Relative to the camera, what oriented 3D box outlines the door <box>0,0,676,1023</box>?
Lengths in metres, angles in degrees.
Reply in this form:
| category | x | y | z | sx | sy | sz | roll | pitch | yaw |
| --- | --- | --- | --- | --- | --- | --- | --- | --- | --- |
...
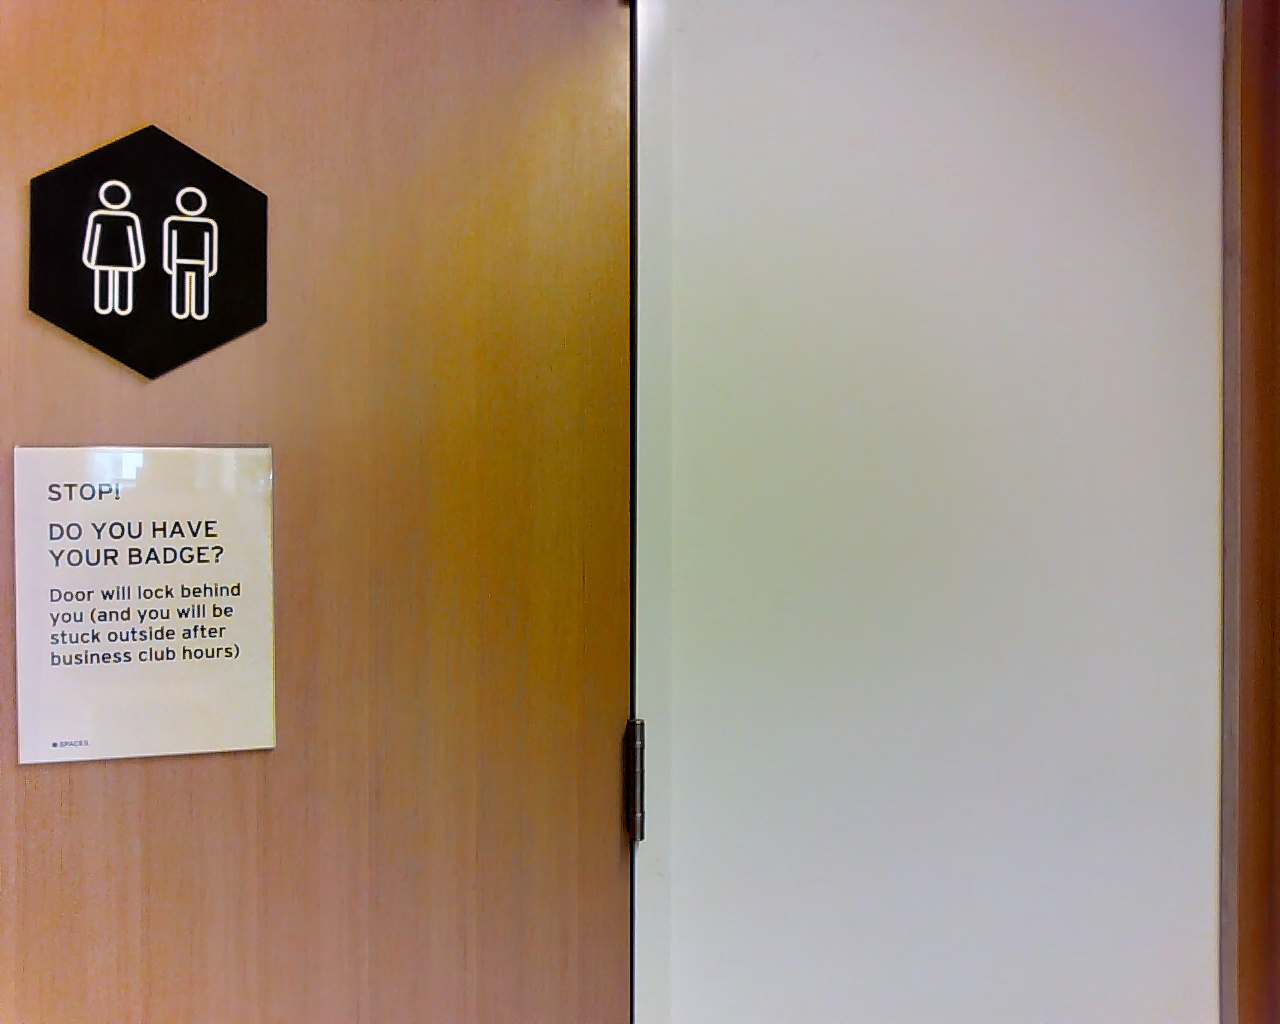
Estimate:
| category | x | y | z | sx | sy | sz | roll | pitch | yaw |
| --- | --- | --- | --- | --- | --- | --- | --- | --- | --- |
| door | -0.440 | 0.330 | 0.970 | 0.980 | 2.210 | 0.030 | 0 | 0 | -16 |
